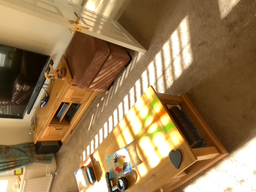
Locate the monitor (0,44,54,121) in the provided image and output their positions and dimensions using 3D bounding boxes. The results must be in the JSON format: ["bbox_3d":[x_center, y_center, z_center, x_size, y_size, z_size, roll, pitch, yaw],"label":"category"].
[{"bbox_3d":[-1.570,-0.100,2.740,1.240,0.790,0.080,-52,50,30],"label":"monitor"}]

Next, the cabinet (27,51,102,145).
[{"bbox_3d":[-0.980,0.090,3.080,1.350,0.480,0.530,-52,50,30],"label":"cabinet"}]
